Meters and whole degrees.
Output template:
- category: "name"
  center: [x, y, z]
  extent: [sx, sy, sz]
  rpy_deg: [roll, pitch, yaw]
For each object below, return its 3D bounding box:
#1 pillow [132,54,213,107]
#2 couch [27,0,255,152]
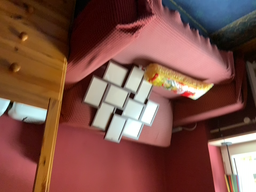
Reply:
- category: "pillow"
  center: [0.370, -0.090, 1.700]
  extent: [0.670, 0.130, 0.260]
  rpy_deg: [20, 148, -35]
- category: "couch"
  center: [0.160, -0.110, 1.780]
  extent: [1.450, 0.830, 1.030]
  rpy_deg: [21, 148, -36]
